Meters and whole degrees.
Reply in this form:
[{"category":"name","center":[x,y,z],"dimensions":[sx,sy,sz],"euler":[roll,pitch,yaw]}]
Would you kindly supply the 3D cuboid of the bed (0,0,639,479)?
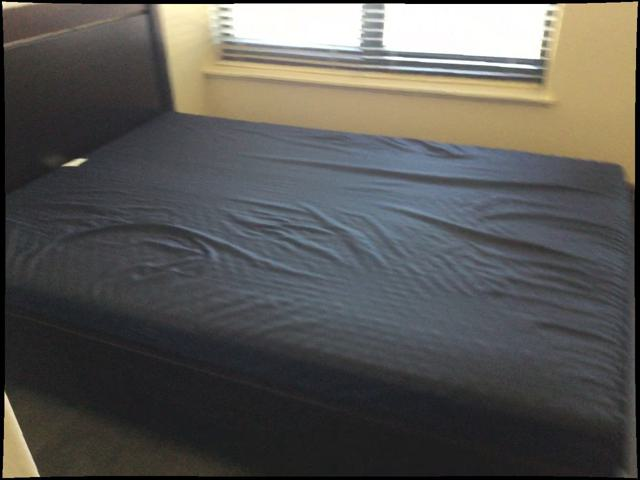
[{"category":"bed","center":[-0.090,-0.190,1.860],"dimensions":[2.138,1.011,1.500],"euler":[11,35,21]}]
